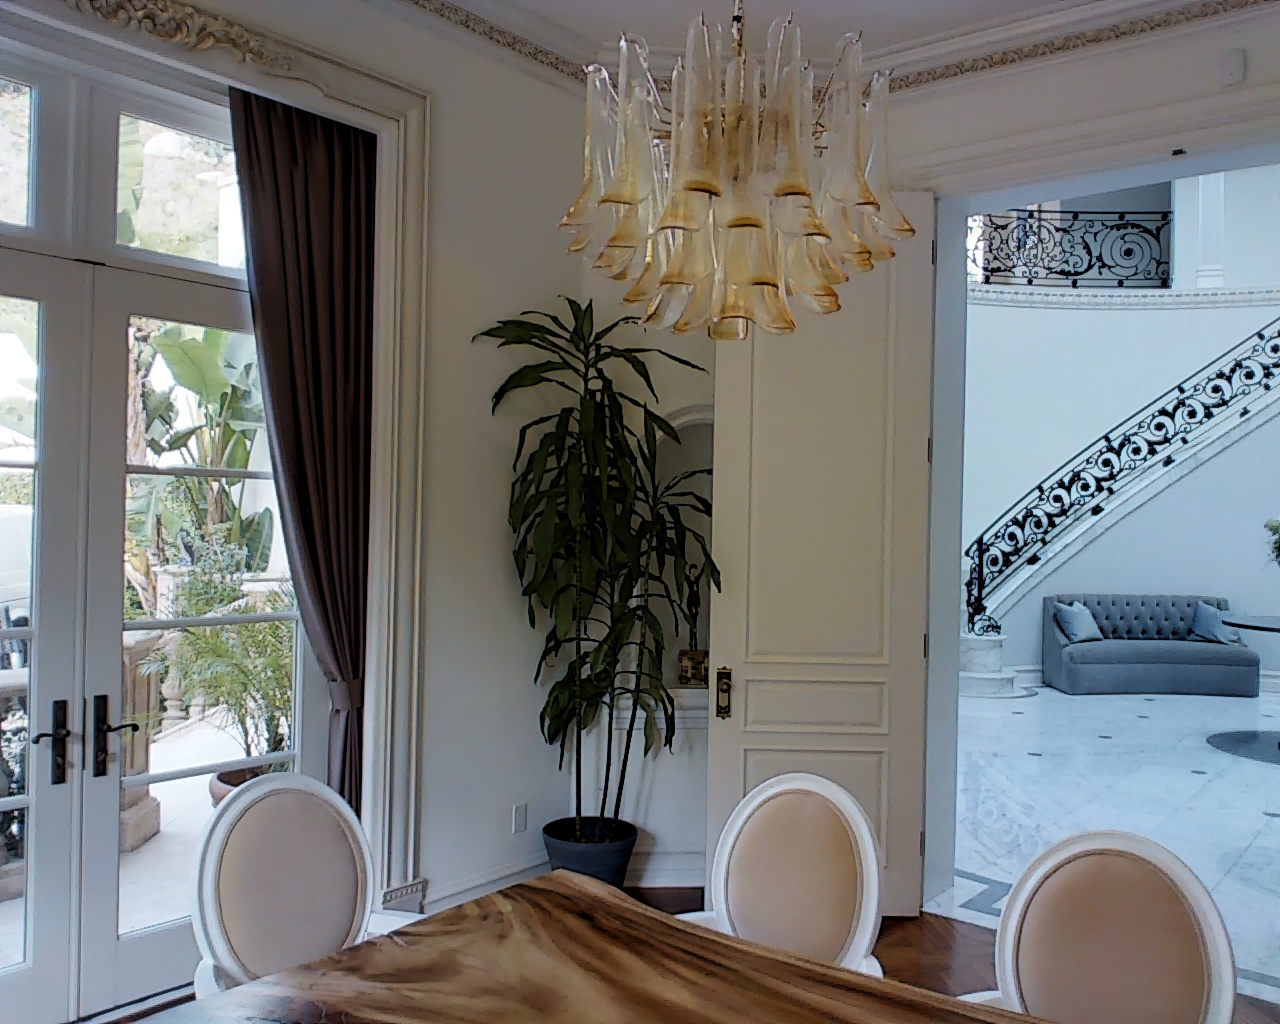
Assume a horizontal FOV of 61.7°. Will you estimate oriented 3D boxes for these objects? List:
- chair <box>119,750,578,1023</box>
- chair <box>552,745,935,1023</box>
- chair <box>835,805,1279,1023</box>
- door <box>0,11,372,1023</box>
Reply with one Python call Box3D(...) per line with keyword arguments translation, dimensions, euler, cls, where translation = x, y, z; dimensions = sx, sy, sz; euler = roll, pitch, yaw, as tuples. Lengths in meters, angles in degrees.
Box3D(translation=(-0.640, 1.140, 2.370), dimensions=(0.700, 1.010, 0.690), euler=(1, 0, 39), cls="chair")
Box3D(translation=(0.240, 1.130, 2.440), dimensions=(0.600, 1.010, 0.640), euler=(1, 0, 40), cls="chair")
Box3D(translation=(0.810, 1.160, 1.950), dimensions=(0.660, 1.000, 0.670), euler=(1, 0, 40), cls="chair")
Box3D(translation=(-1.740, 0.110, 3.380), dimensions=(0.340, 3.031, 1.820), euler=(1, 0, 40), cls="door")
